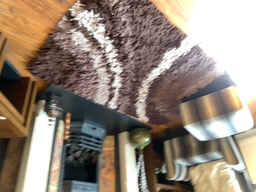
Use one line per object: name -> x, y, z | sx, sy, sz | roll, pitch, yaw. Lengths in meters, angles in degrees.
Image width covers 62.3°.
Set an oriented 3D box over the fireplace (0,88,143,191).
fireplace -> -0.430, 0.760, 1.960 | 0.370, 1.210, 1.330 | -29, 140, 32
